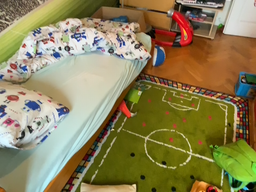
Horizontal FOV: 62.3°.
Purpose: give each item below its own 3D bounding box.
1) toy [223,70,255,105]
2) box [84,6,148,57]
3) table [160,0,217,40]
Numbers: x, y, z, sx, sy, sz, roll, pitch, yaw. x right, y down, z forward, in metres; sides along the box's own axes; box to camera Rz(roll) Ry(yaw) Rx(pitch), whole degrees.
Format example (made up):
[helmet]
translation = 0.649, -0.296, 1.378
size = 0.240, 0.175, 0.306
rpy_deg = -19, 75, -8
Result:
[toy]
translation = 1.150, -0.090, 2.120
size = 0.310, 0.140, 0.280
rpy_deg = 17, 45, 16
[box]
translation = -0.140, -0.820, 2.670
size = 0.660, 0.380, 0.400
rpy_deg = 14, 44, 12
[table]
translation = 0.880, -1.200, 3.130
size = 0.640, 0.430, 0.470
rpy_deg = 20, 45, 18
